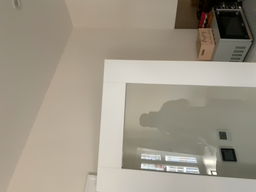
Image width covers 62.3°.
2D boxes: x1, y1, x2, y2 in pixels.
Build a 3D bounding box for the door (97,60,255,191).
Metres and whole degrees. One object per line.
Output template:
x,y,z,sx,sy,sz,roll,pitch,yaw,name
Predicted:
0.810,0.250,1.250,0.050,1.970,0.870,23,-110,-84,door
